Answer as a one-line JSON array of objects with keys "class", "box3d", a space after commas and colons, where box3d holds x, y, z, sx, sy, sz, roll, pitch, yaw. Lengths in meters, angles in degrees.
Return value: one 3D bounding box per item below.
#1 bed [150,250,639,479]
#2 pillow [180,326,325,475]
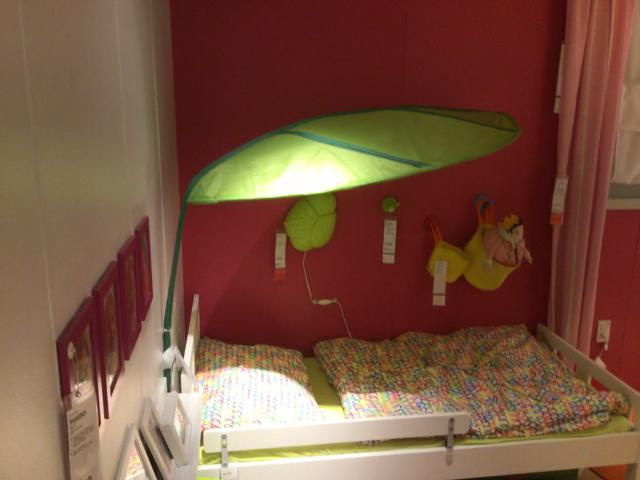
[{"class": "bed", "box3d": [0.330, 0.590, 2.240, 1.640, 0.810, 0.880, -4, 12, 0]}, {"class": "pillow", "box3d": [-0.230, 0.560, 2.180, 0.440, 0.180, 0.750, -5, 12, -2]}]
